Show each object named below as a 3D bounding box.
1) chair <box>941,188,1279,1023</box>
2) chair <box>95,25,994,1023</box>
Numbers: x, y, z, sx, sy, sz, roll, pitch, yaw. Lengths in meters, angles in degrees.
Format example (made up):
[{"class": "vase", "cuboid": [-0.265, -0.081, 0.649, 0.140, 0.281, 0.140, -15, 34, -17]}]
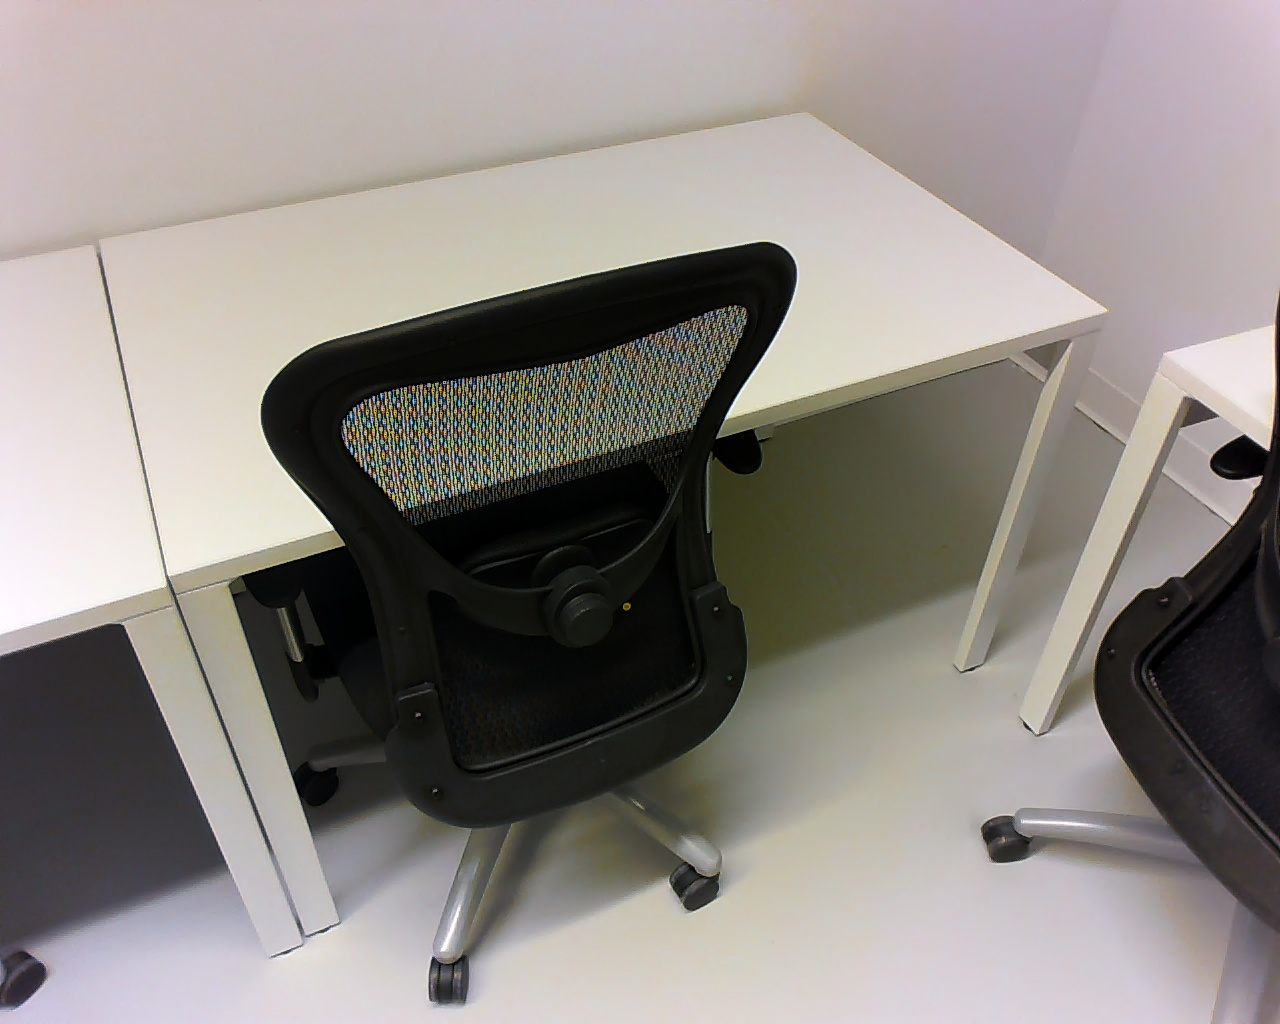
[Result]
[{"class": "chair", "cuboid": [0.910, 0.200, 1.240, 0.670, 1.040, 0.590, -18, 45, -20]}, {"class": "chair", "cuboid": [-0.140, 0.050, 1.380, 0.680, 1.030, 0.620, -18, 45, -20]}]
